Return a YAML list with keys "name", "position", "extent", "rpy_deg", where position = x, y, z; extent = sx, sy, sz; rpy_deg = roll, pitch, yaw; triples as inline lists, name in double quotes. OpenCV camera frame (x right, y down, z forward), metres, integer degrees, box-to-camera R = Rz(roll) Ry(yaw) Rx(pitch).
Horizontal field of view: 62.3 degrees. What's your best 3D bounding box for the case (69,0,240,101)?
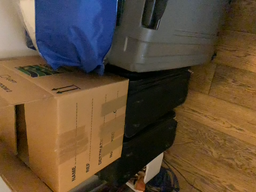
- name: "case"
  position: [0.180, -0.370, 0.930]
  extent: [0.350, 0.740, 0.570]
  rpy_deg: [25, 115, 33]
